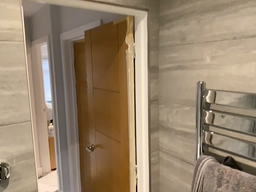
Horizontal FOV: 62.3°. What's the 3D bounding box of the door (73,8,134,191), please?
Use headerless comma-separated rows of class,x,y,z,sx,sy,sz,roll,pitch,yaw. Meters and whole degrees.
door,-0.200,0.460,1.650,0.060,2.030,0.700,-8,11,-37
